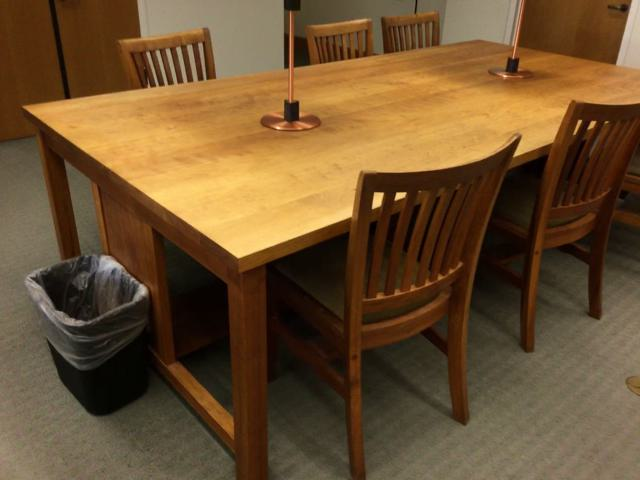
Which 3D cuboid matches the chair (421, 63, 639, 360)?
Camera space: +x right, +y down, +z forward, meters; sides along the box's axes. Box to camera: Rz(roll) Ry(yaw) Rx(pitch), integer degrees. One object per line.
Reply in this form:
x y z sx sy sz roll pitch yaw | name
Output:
0.850 -0.150 2.190 0.570 0.880 0.570 -18 34 -36 | chair

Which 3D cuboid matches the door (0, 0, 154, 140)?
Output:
-1.780 -1.720 3.620 1.300 2.060 0.270 -18 34 -36 | door

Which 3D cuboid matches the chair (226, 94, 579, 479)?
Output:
0.170 0.130 1.670 0.600 0.900 0.660 -18 34 -36 | chair

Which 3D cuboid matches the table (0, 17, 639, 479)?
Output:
0.410 -0.340 2.550 2.810 0.980 1.590 -18 34 -36 | table
